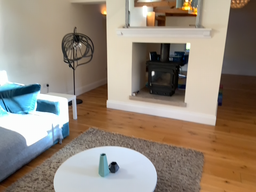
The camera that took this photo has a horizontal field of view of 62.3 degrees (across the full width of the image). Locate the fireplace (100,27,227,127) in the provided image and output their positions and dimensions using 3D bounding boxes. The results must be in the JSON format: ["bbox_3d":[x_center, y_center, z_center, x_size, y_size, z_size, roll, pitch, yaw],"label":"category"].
[{"bbox_3d":[0.660,-0.520,4.240,2.170,1.610,1.000,8,19,22],"label":"fireplace"}]
